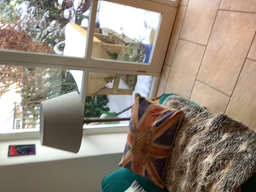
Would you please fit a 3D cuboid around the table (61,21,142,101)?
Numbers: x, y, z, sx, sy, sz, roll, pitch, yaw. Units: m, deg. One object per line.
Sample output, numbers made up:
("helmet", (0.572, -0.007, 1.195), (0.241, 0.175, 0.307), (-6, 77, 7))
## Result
("table", (-0.630, -0.730, 3.780), (2.000, 0.750, 0.880), (43, 127, 55))
